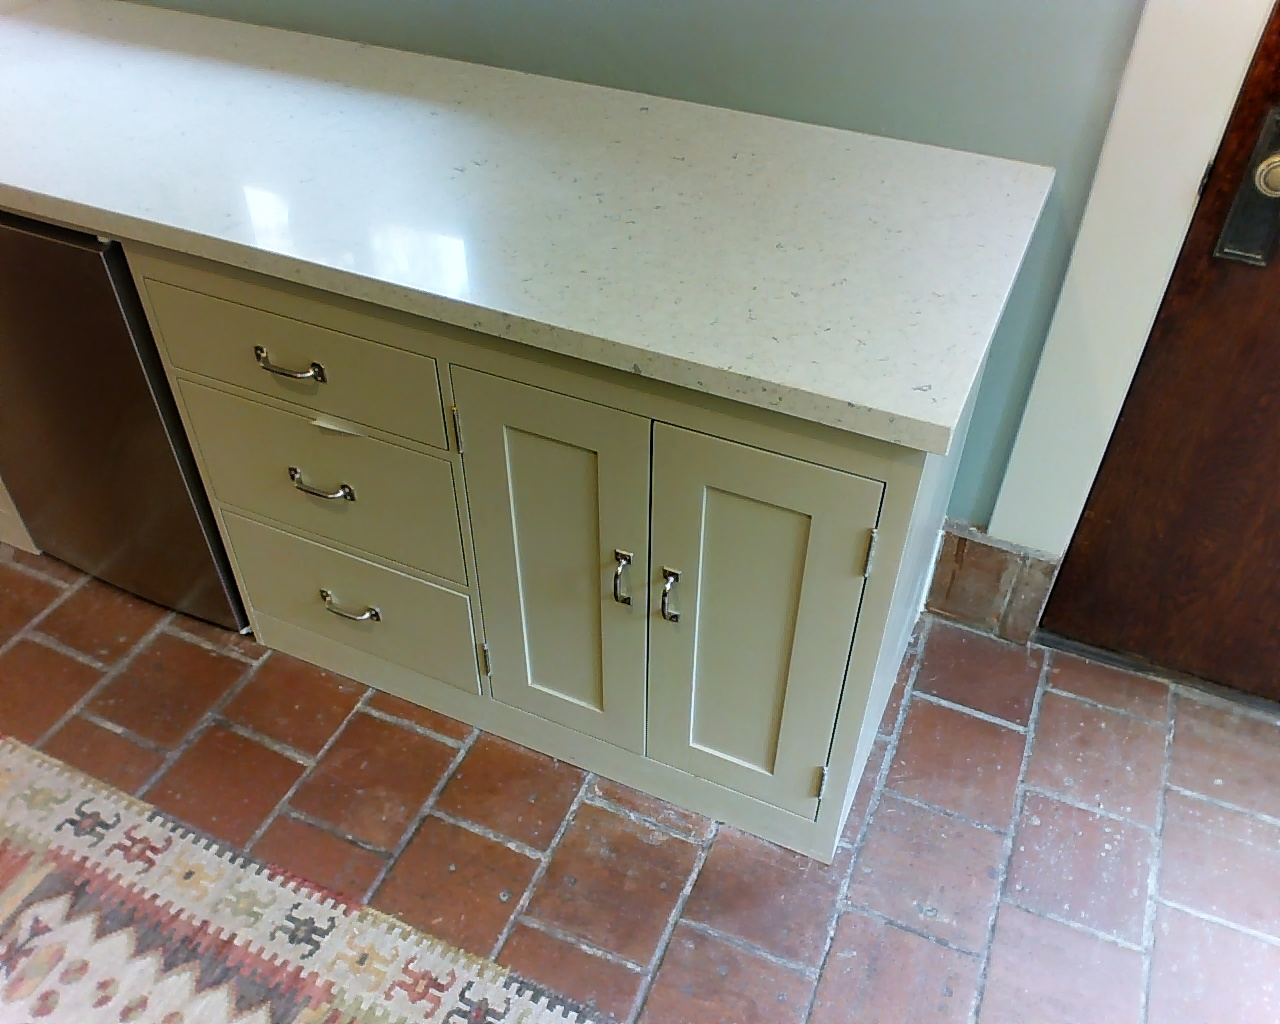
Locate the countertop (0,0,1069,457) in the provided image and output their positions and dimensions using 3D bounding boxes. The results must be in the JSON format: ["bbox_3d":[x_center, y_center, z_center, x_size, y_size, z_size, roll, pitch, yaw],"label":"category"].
[{"bbox_3d":[-0.420,-0.580,1.640,1.970,0.080,0.700,17,44,17],"label":"countertop"}]
